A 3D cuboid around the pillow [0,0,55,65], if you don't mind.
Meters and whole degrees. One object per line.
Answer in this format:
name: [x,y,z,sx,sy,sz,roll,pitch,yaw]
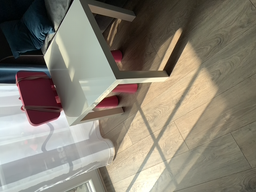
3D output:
pillow: [-0.770,-0.610,1.490,0.420,0.170,0.650,-34,71,41]
